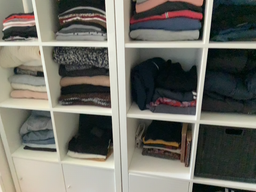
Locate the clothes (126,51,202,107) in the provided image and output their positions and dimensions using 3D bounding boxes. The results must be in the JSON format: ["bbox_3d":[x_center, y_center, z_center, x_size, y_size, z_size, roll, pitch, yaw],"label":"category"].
[{"bbox_3d":[0.190,-0.110,1.180,0.360,0.220,0.290,3,22,9],"label":"clothes"}]

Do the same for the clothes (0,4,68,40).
[{"bbox_3d":[-0.570,-0.430,1.220,0.320,0.170,0.290,4,22,11],"label":"clothes"}]
